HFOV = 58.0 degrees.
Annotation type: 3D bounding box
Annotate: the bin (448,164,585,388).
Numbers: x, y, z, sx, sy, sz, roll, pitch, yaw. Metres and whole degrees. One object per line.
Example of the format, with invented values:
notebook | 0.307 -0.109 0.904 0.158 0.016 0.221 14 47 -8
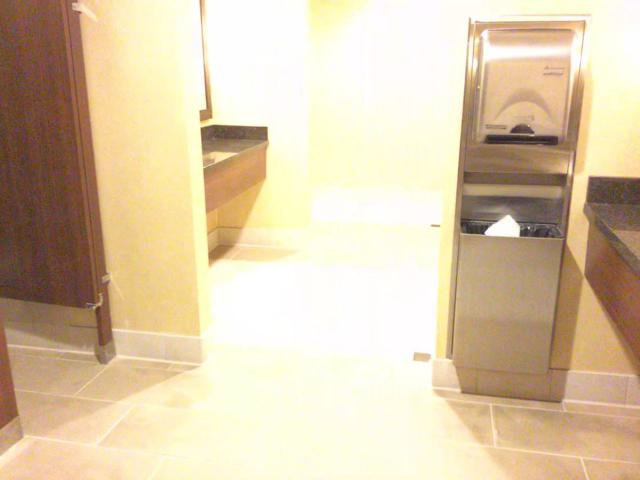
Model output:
bin | 0.760 0.140 2.320 0.430 0.850 0.190 4 16 13
